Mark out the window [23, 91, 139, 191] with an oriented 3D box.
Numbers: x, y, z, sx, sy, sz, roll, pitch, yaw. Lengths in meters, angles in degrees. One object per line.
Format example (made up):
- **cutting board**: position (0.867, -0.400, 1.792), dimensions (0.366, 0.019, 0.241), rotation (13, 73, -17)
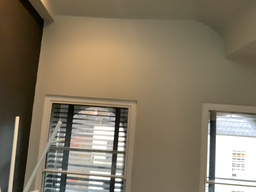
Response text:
- **window**: position (-0.380, 0.610, 1.660), dimensions (0.840, 1.240, 0.040), rotation (4, -6, 2)
